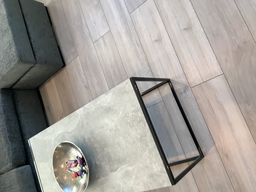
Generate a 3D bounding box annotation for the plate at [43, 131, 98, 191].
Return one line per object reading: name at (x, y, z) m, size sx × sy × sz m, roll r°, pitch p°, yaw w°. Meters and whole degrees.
plate at (-0.350, 0.410, 1.240) m, size 0.320 × 0.050 × 0.320 m, roll -28°, pitch 77°, yaw 33°
